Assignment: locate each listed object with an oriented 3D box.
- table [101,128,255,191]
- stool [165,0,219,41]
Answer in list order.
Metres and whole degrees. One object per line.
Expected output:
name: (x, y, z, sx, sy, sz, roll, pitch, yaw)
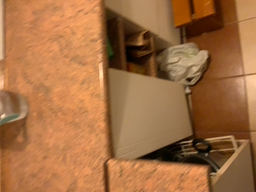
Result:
table: (0.300, 0.410, 0.830, 0.280, 0.860, 0.480, -7, 84, 34)
stool: (0.350, -0.570, 1.180, 0.200, 0.270, 0.430, -7, 84, 34)
